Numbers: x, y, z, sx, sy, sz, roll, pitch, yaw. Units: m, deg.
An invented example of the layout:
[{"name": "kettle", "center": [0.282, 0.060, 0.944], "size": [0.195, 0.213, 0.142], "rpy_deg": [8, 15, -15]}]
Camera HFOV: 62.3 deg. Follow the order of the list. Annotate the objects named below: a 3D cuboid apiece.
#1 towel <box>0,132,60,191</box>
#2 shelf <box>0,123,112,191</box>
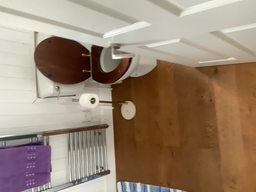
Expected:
[{"name": "towel", "center": [-0.720, 0.470, 1.390], "size": [0.150, 0.450, 0.320], "rpy_deg": [-7, 99, 39]}, {"name": "shelf", "center": [-0.550, 0.460, 1.600], "size": [0.080, 1.020, 0.410], "rpy_deg": [-11, 82, 43]}]
